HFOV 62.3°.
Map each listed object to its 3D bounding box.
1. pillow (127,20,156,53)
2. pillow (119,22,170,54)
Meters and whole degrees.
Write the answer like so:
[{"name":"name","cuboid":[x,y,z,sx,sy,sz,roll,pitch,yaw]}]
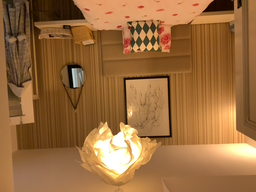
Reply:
[{"name":"pillow","cuboid":[0.180,-0.770,2.790,0.360,0.360,0.210,-2,-177,5]},{"name":"pillow","cuboid":[0.230,-0.810,3.030,0.670,0.350,0.330,-2,-177,3]}]
